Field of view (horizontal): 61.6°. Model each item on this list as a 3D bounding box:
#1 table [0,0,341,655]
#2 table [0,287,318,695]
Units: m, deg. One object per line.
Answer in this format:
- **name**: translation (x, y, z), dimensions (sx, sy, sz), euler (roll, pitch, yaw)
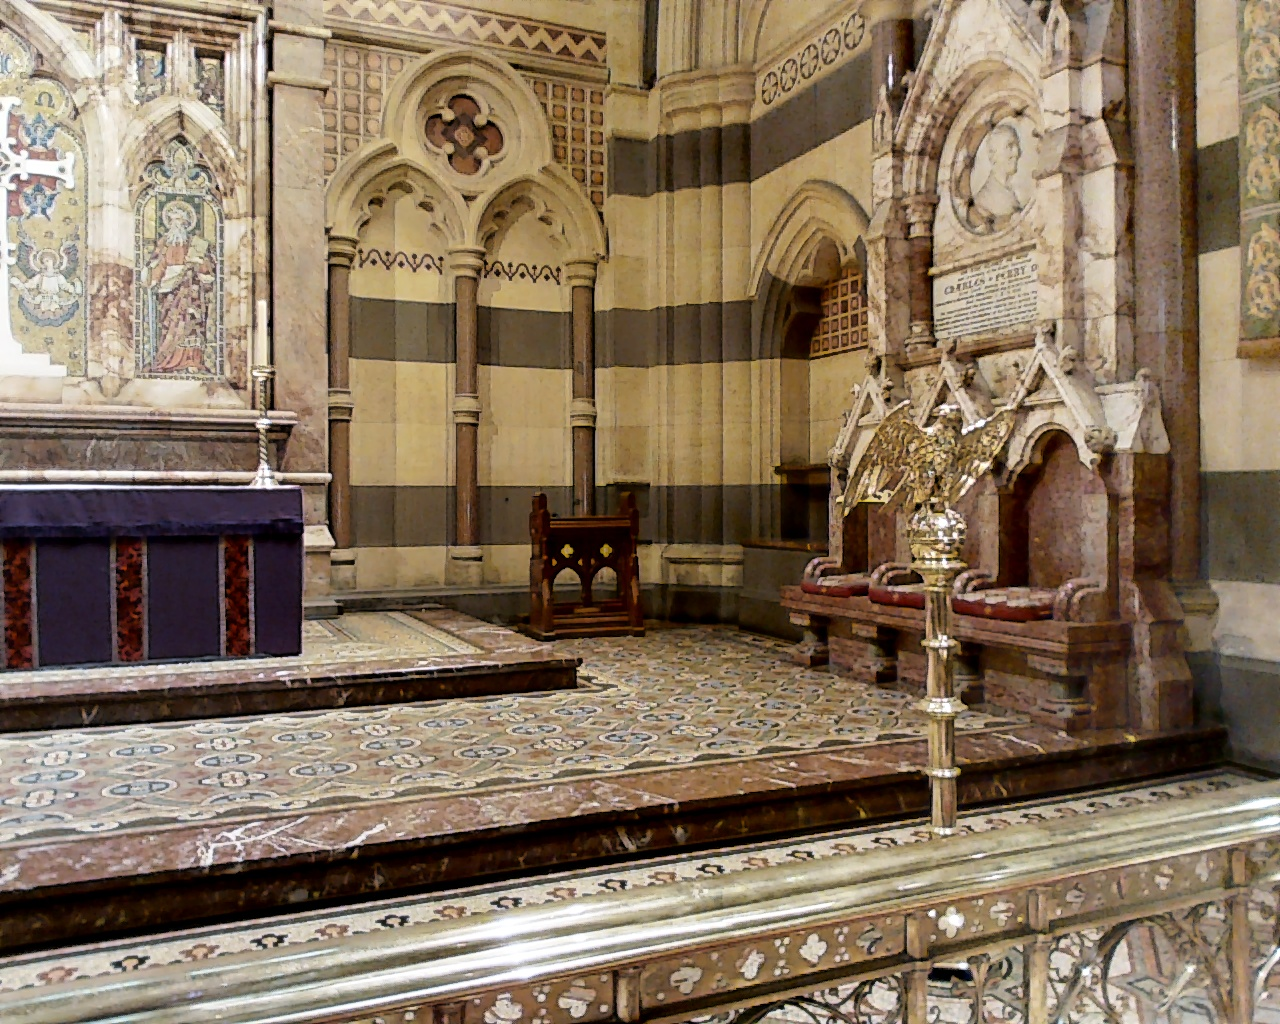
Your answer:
- **table**: translation (-4.499, -1.470, 7.460), dimensions (4.589, 4.861, 0.710), euler (0, -2, -24)
- **table**: translation (-3.939, -0.090, 6.180), dimensions (3.849, 2.151, 1.430), euler (0, -2, -24)
